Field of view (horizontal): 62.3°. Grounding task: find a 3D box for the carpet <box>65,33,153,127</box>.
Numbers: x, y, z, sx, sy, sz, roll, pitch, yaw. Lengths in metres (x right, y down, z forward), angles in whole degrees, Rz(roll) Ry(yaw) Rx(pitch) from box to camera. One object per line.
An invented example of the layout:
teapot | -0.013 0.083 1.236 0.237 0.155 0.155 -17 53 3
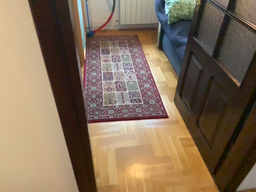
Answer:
carpet | -0.210 -0.340 2.580 0.770 0.070 1.830 0 40 -3
